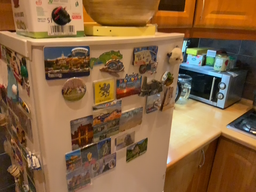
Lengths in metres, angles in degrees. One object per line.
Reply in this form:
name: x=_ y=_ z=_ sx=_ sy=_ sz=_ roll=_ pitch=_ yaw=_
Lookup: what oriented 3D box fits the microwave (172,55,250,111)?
microwave: x=0.650 y=-0.130 z=1.710 sx=0.310 sy=0.290 sz=0.460 roll=-17 pitch=29 yaw=-40
